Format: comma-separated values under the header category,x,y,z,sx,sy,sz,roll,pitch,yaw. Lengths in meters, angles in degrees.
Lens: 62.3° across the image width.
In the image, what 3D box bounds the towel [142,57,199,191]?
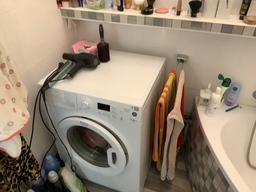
category,x,y,z,sx,sy,sz,roll,pitch,yaw
towel,0.280,0.240,1.480,0.210,0.890,0.440,12,40,16

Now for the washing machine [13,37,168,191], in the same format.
category,x,y,z,sx,sy,sz,roll,pitch,yaw
washing machine,-0.160,0.150,1.490,0.680,0.840,0.630,12,40,16
